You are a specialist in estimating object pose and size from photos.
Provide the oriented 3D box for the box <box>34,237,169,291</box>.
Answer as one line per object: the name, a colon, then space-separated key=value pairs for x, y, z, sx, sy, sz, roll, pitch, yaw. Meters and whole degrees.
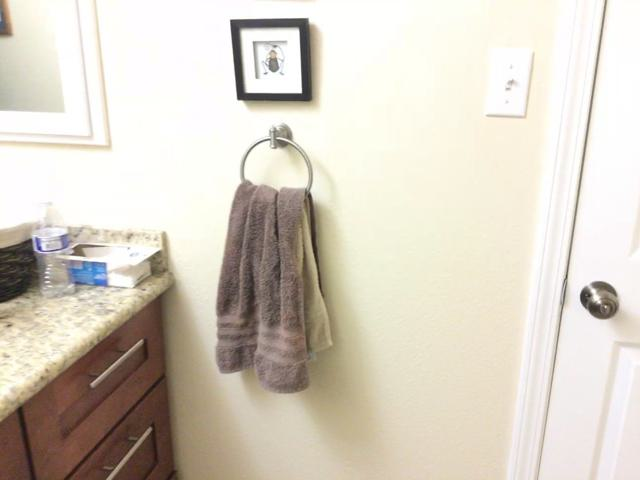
box: x=-0.480 y=0.050 z=1.280 sx=0.250 sy=0.070 sz=0.120 roll=3 pitch=17 yaw=14

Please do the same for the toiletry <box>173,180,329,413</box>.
toiletry: x=-0.130 y=0.110 z=1.200 sx=0.260 sy=0.440 sz=0.150 roll=3 pitch=17 yaw=15
